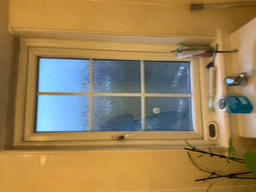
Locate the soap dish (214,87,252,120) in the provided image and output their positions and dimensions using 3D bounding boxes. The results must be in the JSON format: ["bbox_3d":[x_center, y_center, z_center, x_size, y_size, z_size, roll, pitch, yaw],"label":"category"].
[{"bbox_3d":[0.500,0.040,1.020,0.120,0.110,0.150,137,133,-80],"label":"soap dish"}]
